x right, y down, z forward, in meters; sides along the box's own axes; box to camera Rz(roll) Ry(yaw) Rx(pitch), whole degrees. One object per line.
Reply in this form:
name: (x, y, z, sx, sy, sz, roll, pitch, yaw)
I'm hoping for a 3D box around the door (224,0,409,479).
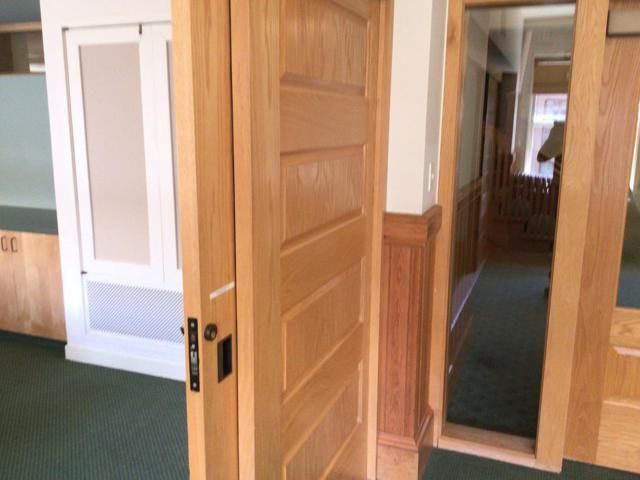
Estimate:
door: (0.020, 0.180, 1.790, 0.110, 1.880, 0.950, 8, 13, 24)
